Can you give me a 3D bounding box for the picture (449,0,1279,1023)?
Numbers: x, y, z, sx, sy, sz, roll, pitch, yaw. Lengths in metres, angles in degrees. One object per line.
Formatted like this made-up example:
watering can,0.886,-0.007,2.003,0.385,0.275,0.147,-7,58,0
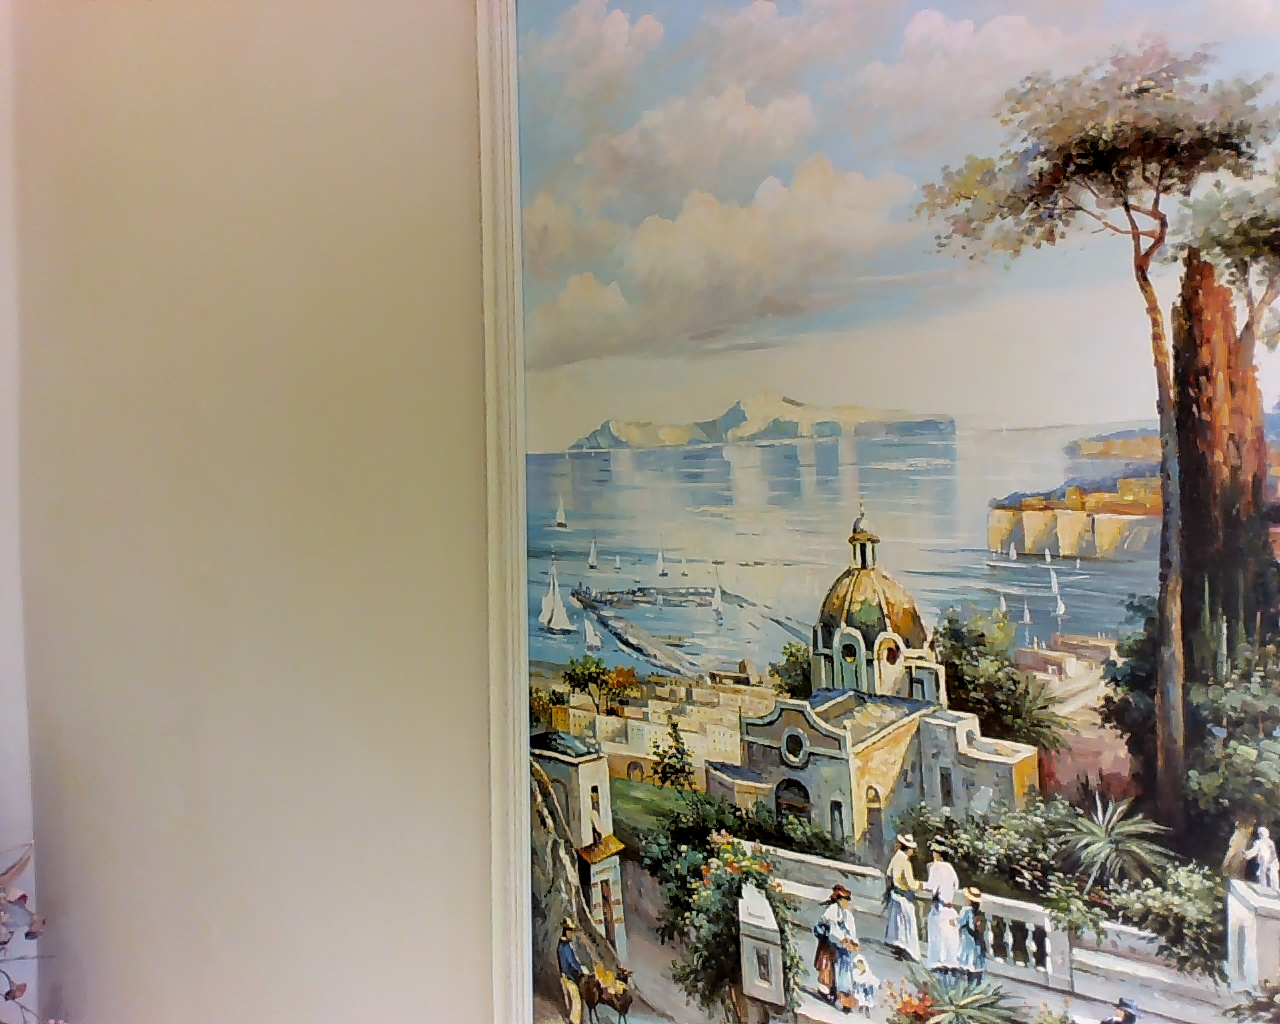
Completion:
picture,0.240,0.020,0.930,1.070,1.410,0.050,0,2,37
